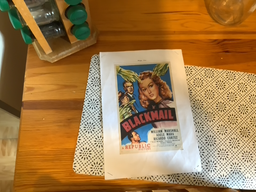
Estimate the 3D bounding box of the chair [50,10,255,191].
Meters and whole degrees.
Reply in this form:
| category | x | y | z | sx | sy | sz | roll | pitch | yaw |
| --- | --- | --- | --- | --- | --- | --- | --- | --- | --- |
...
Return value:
| category | x | y | z | sx | sy | sz | roll | pitch | yaw |
| --- | --- | --- | --- | --- | --- | --- | --- | --- | --- |
| chair | 0.040 | 0.170 | 0.800 | 0.390 | 0.920 | 0.420 | 0 | 73 | -5 |
